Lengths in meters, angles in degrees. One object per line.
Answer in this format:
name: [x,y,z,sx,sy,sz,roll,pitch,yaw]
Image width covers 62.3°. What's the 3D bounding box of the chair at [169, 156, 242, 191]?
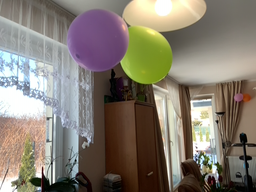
chair: [1.230,1.510,3.280,0.950,0.990,0.690,-6,-9,27]
